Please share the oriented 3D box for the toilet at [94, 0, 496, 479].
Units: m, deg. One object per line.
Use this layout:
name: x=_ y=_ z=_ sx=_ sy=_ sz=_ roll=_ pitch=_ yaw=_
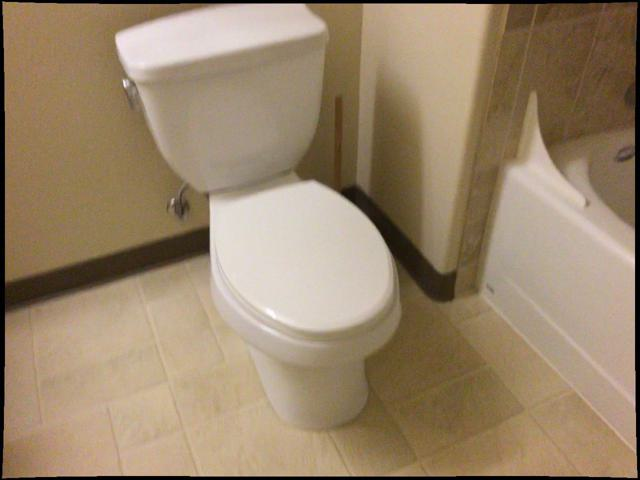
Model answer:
toilet: x=-0.100 y=-0.020 z=1.350 sx=0.489 sy=0.801 sz=0.760 roll=-19 pitch=43 yaw=-19
